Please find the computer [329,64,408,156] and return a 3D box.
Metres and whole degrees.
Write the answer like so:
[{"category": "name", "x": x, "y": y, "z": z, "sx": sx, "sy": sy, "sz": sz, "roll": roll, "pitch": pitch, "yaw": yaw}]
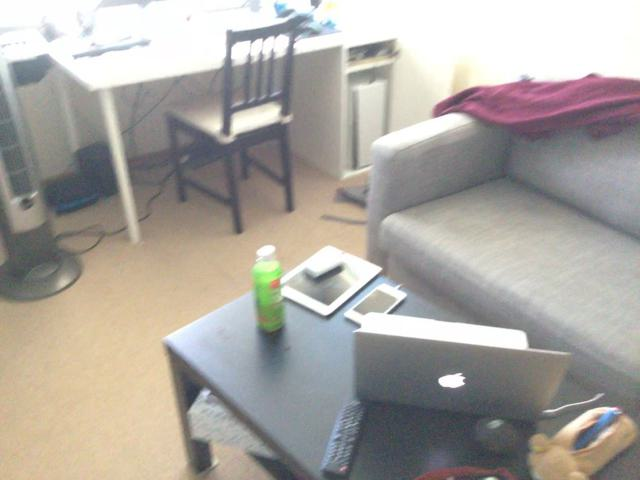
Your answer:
[{"category": "computer", "x": 0.230, "y": -0.650, "z": 2.870, "sx": 0.250, "sy": 0.340, "sz": 0.290, "roll": -20, "pitch": 37, "yaw": -28}]
